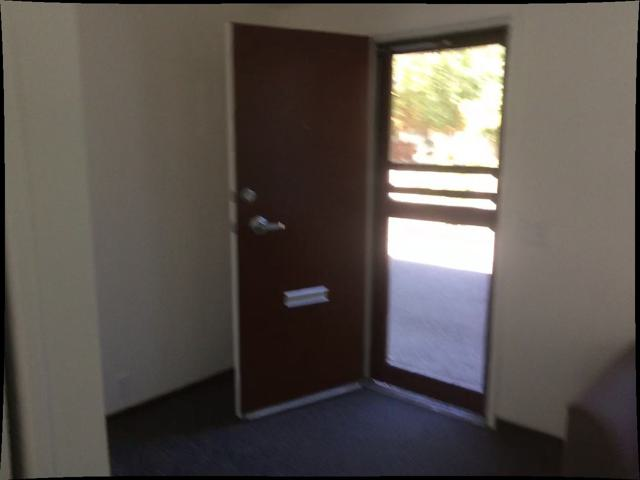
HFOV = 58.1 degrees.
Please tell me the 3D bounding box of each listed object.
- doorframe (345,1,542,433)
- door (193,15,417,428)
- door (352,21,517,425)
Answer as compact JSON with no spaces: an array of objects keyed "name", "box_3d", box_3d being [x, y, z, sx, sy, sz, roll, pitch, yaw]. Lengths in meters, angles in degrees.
[{"name":"doorframe","box_3d":[0.579,-0.110,3.040,0.939,2.013,0.230,10,15,40]},{"name":"door","box_3d":[-0.070,-0.100,3.110,1.059,1.963,0.410,-5,13,-25]},{"name":"door","box_3d":[0.559,-0.080,3.070,0.769,1.943,0.240,10,15,40]}]
